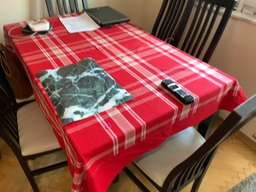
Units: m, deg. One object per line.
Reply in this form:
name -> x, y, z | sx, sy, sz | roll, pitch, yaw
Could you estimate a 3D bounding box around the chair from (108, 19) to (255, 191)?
chair -> 0.230, 0.220, 1.070 | 0.390, 0.980, 0.570 | -23, 44, -29
